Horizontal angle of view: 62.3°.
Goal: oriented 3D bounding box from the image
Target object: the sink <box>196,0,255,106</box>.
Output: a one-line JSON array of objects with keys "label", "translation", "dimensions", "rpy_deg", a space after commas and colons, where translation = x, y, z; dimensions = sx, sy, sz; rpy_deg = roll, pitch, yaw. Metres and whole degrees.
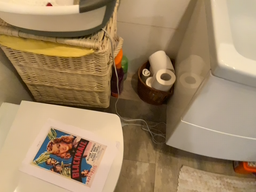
[{"label": "sink", "translation": [0.500, -0.170, 0.630], "dimensions": [0.550, 0.110, 0.440], "rpy_deg": [8, 59, 0]}]

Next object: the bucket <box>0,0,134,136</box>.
[{"label": "bucket", "translation": [-0.240, -0.140, 1.030], "dimensions": [0.430, 0.770, 0.340], "rpy_deg": [12, 59, 2]}]
